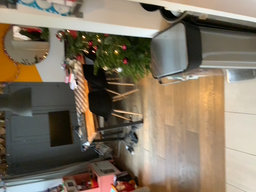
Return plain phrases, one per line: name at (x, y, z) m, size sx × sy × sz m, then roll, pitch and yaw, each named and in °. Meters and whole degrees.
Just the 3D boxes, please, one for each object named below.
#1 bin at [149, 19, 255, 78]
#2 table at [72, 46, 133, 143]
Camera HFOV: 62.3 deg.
bin at (0.530, -0.280, 1.460) m, size 0.400 × 0.650 × 0.300 m, roll -175°, pitch 83°, yaw -65°
table at (-0.500, 0.020, 3.750) m, size 0.850 × 0.700 × 1.500 m, roll 153°, pitch 113°, yaw -63°
